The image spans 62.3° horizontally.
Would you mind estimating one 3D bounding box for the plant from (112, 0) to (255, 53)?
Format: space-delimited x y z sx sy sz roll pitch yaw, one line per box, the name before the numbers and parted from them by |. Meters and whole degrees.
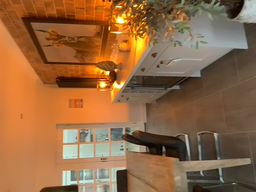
plant | 0.530 -0.700 1.430 0.520 1.210 0.600 134 134 -74
